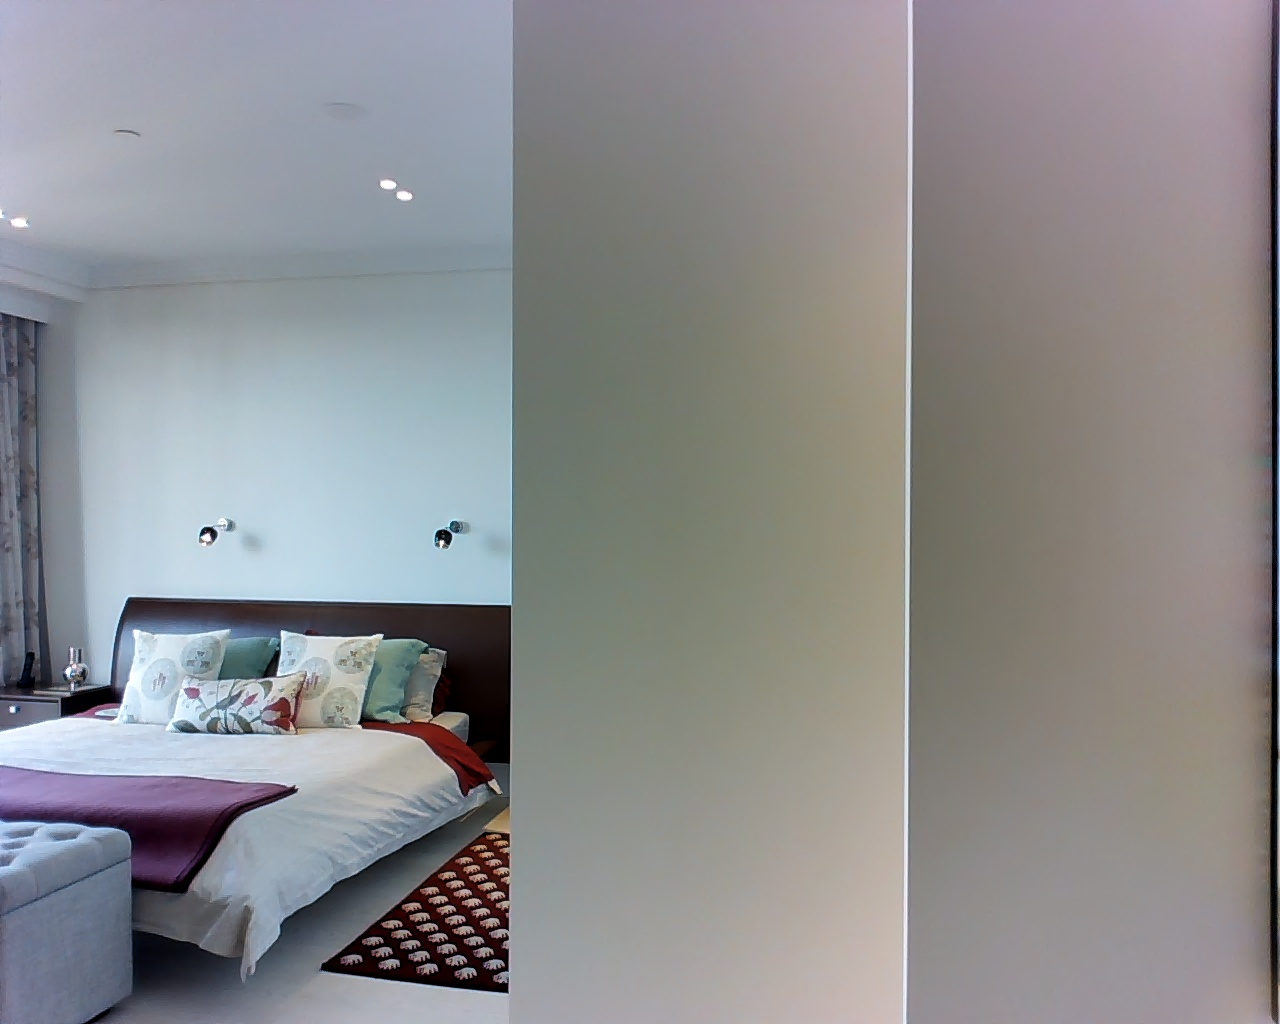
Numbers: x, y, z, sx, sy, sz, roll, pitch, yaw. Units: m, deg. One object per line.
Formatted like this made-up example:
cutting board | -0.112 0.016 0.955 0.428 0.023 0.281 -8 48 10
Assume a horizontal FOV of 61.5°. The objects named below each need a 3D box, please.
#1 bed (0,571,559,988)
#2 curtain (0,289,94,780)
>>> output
bed | -1.840 0.810 4.430 2.349 0.930 2.580 0 1 13
curtain | -3.359 0.130 5.700 0.300 2.491 0.790 0 -3 11
